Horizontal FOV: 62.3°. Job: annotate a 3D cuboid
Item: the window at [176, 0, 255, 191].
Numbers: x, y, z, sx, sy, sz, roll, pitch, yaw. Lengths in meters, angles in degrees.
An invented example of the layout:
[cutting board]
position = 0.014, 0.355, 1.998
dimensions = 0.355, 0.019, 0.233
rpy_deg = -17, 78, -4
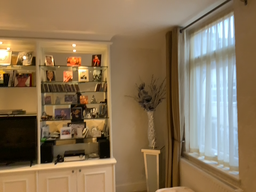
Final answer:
[window]
position = 0.960, -0.050, 2.530
dimensions = 0.180, 1.890, 1.220
rpy_deg = -1, 0, -16
